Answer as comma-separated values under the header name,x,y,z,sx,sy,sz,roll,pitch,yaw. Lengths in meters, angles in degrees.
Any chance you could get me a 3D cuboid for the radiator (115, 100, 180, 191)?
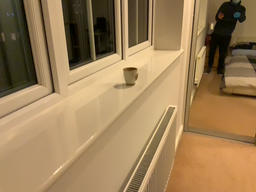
name,x,y,z,sx,sy,sz,roll,pitch,yaw
radiator,0.150,0.430,1.170,0.080,0.490,0.970,7,23,21
